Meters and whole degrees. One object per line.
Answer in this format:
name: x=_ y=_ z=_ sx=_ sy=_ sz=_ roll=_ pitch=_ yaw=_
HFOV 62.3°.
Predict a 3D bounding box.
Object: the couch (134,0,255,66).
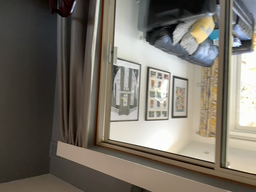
couch: x=1.190 y=-1.070 z=3.390 sx=1.130 sy=0.780 sz=2.000 roll=2 pitch=178 yaw=41
